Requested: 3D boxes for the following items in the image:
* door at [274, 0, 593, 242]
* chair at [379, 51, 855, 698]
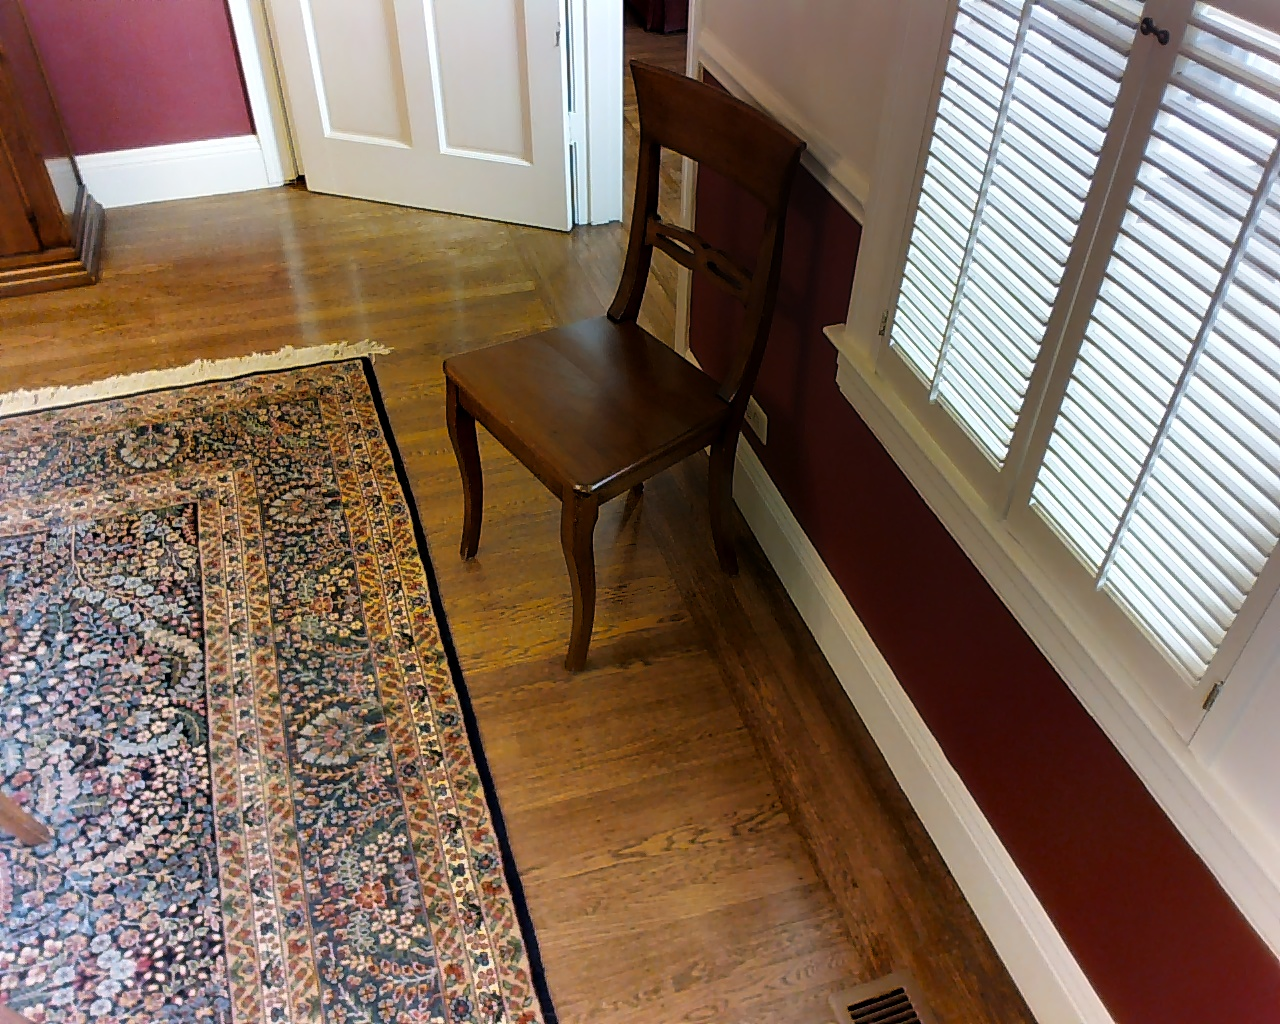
[{"bbox_3d":[-0.600,-1.730,2.810,0.950,2.050,0.090,13,44,12],"label":"door"},{"bbox_3d":[-0.040,-0.240,1.990,0.580,0.940,0.460,-29,51,-29],"label":"chair"}]
